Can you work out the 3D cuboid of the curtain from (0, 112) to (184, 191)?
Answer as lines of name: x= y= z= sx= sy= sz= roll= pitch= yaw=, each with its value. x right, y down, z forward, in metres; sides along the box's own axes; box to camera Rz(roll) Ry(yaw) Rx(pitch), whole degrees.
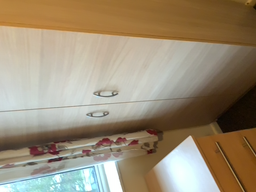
curtain: x=-0.370 y=0.290 z=1.110 sx=0.200 sy=1.460 sz=0.220 roll=-62 pitch=40 yaw=45
